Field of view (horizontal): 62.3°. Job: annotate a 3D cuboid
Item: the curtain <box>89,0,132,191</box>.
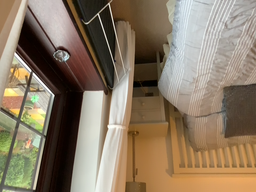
[{"bbox_3d":[-0.070,0.520,1.220,0.130,2.380,0.630,-2,152,6],"label":"curtain"}]
